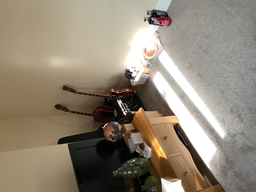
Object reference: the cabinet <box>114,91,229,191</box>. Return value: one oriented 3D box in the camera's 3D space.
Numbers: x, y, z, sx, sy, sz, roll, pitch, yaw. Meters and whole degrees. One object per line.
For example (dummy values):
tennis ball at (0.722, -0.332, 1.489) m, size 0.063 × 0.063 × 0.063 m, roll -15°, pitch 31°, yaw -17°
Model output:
cabinet at (0.370, 0.680, 2.130) m, size 0.680 × 0.400 × 1.350 m, roll -61°, pitch 43°, yaw 40°

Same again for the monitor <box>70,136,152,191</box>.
monitor at (-0.090, 0.860, 1.920) m, size 1.050 × 0.620 × 0.070 m, roll 62°, pitch 140°, yaw 36°
